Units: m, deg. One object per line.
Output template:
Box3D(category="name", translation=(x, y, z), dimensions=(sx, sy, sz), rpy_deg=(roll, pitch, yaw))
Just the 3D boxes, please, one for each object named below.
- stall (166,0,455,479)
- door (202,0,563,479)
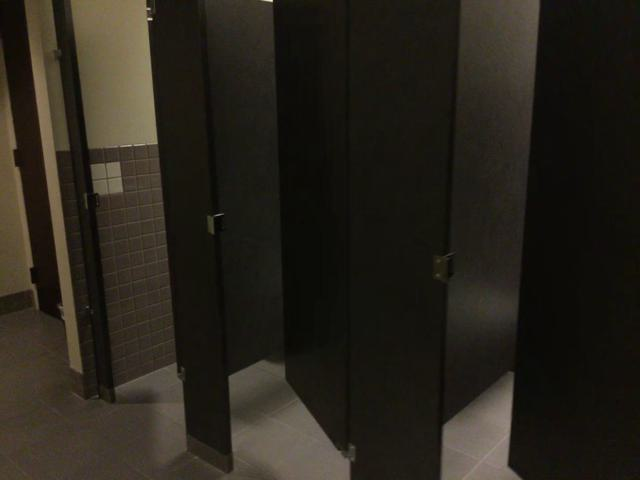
Box3D(category="stall", translation=(-0.020, -0.130, 2.060), dimensions=(0.730, 2.030, 0.620), rpy_deg=(10, 16, 40))
Box3D(category="door", translation=(0.130, -0.050, 1.760), dimensions=(0.990, 2.070, 0.340), rpy_deg=(10, 16, 40))
